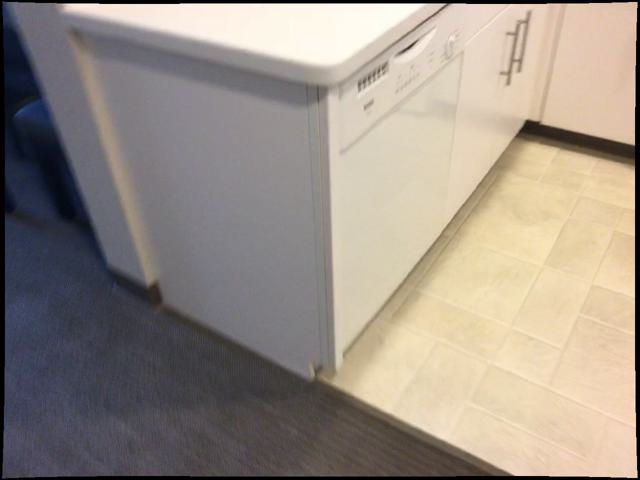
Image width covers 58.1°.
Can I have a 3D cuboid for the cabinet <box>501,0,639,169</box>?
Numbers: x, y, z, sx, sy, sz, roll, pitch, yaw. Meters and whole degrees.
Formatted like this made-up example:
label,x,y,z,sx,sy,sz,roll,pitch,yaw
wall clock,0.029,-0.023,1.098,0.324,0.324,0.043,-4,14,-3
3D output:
label,x,y,z,sx,sy,sz,roll,pitch,yaw
cabinet,1.017,-0.732,2.120,0.539,0.901,0.090,20,45,25
